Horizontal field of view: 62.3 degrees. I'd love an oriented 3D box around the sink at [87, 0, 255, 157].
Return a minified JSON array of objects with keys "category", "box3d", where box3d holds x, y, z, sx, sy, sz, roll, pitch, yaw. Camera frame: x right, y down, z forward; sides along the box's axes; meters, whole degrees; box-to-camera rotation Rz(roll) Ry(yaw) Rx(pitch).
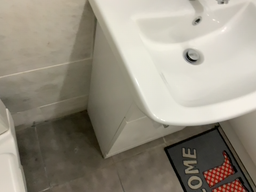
[{"category":"sink","box3d":[0.220,-0.130,0.630,0.570,0.170,0.410,-15,69,-20]}]
